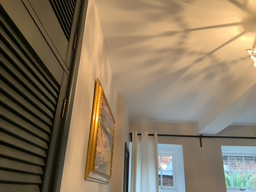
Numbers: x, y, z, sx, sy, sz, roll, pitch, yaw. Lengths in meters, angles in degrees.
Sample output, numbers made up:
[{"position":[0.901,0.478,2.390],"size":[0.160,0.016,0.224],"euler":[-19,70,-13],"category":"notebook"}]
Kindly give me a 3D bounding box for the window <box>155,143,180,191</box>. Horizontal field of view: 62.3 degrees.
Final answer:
[{"position":[0.680,1.590,3.600],"size":[0.390,1.550,0.110],"euler":[-1,-24,5],"category":"window"}]

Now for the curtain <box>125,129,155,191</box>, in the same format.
[{"position":[0.160,1.580,2.960],"size":[0.420,2.250,0.150],"euler":[1,-23,0],"category":"curtain"}]
